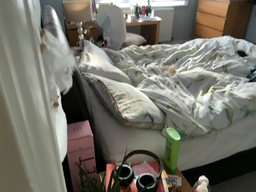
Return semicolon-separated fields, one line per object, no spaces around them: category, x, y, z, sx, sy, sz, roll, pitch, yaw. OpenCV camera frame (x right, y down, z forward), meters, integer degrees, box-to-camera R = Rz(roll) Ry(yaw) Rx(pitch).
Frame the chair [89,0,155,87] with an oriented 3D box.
chair;-0.080;-0.770;3.010;0.570;1.010;0.660;21;35;31
